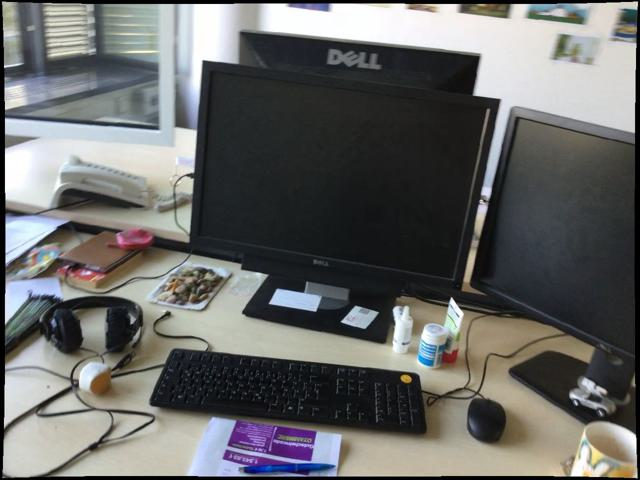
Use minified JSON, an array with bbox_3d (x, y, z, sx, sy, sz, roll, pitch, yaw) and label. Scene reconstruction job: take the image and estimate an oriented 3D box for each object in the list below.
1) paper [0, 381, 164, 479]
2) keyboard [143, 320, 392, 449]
[{"bbox_3d":[-0.370,0.300,0.890,0.190,0.020,0.180,9,26,9],"label":"paper"},{"bbox_3d":[-0.080,0.240,1.010,0.390,0.030,0.200,9,26,9],"label":"keyboard"}]
